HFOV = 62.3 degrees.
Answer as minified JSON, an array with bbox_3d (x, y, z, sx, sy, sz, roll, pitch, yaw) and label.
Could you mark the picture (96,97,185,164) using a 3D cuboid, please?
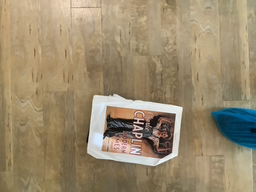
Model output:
[{"bbox_3d":[0.040,0.110,0.690,0.280,0.030,0.210,1,90,-3],"label":"picture"}]
